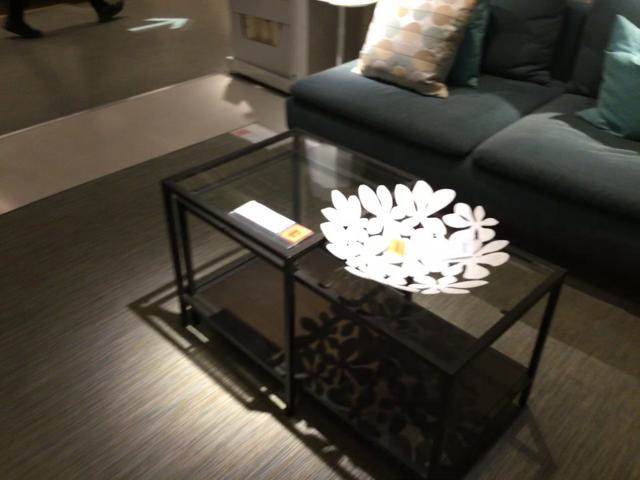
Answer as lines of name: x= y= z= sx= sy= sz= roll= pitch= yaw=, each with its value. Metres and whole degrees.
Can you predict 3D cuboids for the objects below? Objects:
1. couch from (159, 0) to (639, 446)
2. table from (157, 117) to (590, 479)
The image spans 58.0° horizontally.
couch: x=0.930 y=-0.330 z=1.830 sx=1.480 sy=0.780 sz=2.800 roll=-28 pitch=44 yaw=-36
table: x=0.070 y=0.130 z=1.530 sx=0.510 sy=0.540 sz=0.940 roll=-26 pitch=42 yaw=-34
